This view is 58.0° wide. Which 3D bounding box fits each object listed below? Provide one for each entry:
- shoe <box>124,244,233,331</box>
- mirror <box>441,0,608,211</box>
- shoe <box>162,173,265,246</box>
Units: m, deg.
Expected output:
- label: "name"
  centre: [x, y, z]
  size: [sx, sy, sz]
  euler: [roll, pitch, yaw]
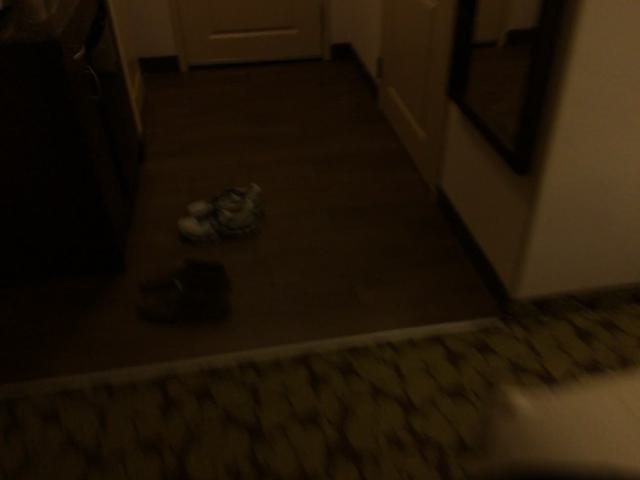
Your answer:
- label: "shoe"
  centre: [-0.490, 0.160, 2.060]
  size: [0.340, 0.120, 0.290]
  euler: [-7, 32, -4]
- label: "mirror"
  centre: [0.520, -0.920, 1.490]
  size: [0.120, 1.500, 0.770]
  euler: [-7, 32, -4]
- label: "shoe"
  centre: [-0.430, -0.130, 2.380]
  size: [0.380, 0.140, 0.280]
  euler: [-7, 32, -4]
